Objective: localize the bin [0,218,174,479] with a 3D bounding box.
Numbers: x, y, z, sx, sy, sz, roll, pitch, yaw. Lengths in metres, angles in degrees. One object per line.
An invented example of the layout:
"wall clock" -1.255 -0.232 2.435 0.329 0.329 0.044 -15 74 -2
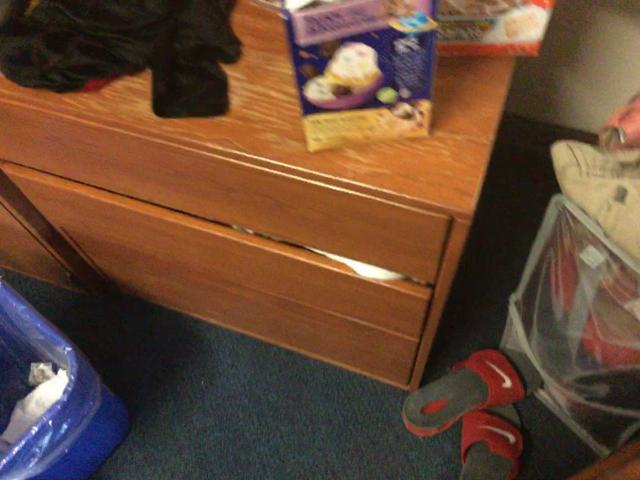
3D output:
"bin" -0.560 0.280 1.100 0.350 0.380 0.400 -25 62 -12
